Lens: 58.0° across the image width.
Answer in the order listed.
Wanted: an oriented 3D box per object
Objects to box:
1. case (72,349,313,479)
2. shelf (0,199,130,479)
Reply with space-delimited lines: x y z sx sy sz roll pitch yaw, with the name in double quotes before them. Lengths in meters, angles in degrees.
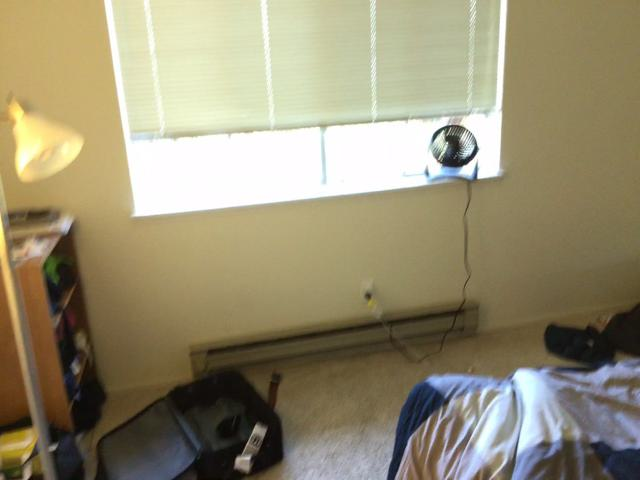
"case" -0.550 0.780 2.410 0.780 0.180 0.700 -14 19 -28
"shelf" -1.090 0.390 2.340 0.380 0.950 0.690 -8 17 -10
